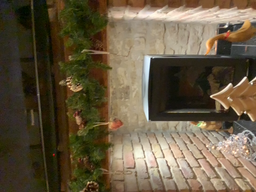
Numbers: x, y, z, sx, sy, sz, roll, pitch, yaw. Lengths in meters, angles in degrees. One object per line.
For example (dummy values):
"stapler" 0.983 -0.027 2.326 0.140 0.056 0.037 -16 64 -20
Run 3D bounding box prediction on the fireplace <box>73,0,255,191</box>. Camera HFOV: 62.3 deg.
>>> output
"fireplace" 0.450 0.020 1.330 1.230 1.320 1.720 -107 18 -75
